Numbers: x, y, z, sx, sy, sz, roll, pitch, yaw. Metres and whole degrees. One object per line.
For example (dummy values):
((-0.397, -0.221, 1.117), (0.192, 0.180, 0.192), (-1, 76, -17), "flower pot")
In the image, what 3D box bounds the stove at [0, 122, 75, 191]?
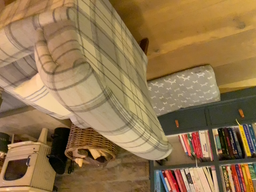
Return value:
((-1.260, 0.910, 2.860), (0.700, 0.840, 0.630), (-13, 145, 22), "stove")

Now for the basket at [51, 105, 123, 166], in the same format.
((-0.450, 0.510, 2.570), (0.580, 0.490, 0.580), (-11, 146, 19), "basket")
